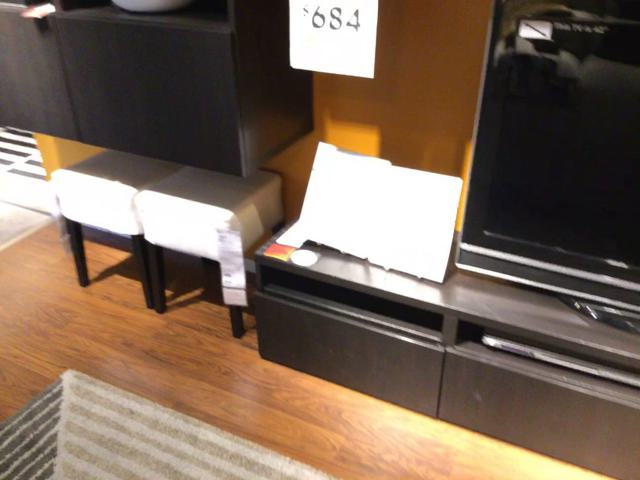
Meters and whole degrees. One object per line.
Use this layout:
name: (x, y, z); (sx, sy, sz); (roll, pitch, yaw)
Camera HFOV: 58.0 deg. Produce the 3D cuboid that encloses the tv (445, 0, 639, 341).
tv: (0.830, -0.100, 1.170); (1.070, 0.740, 0.120); (16, 32, 25)
